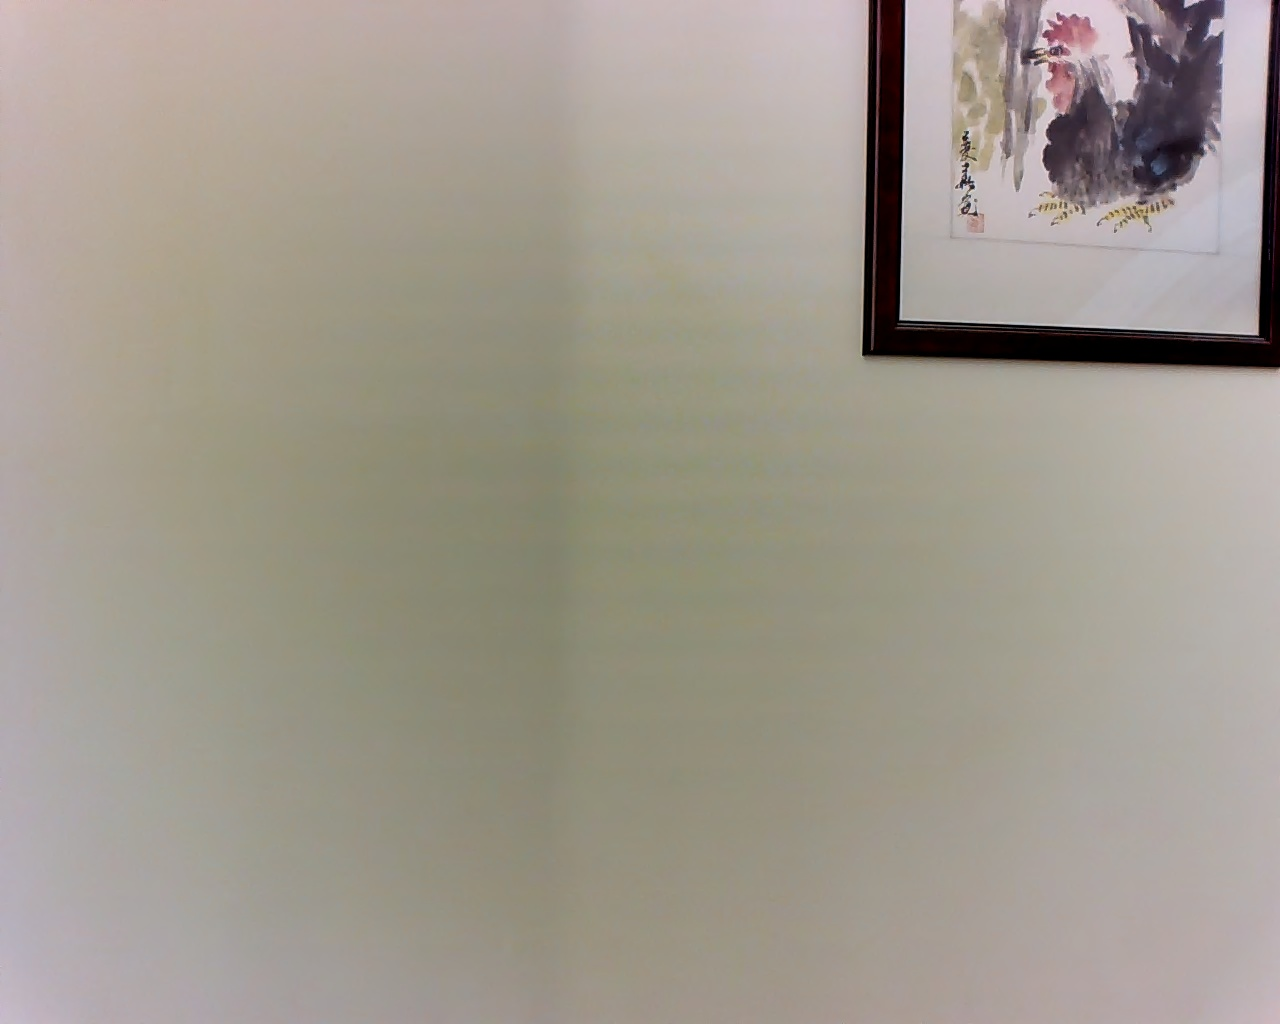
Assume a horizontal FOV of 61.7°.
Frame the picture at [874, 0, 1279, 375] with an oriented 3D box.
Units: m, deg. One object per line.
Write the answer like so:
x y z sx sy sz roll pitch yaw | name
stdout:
0.510 -0.610 1.150 0.540 0.910 0.040 -1 1 -13 | picture
